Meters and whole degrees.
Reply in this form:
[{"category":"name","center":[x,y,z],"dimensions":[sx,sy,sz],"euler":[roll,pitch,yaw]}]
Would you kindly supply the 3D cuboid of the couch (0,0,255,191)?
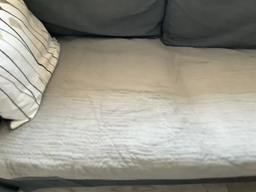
[{"category":"couch","center":[0.520,-0.230,1.070],"dimensions":[2.530,0.870,1.210],"euler":[0,53,-7]}]
